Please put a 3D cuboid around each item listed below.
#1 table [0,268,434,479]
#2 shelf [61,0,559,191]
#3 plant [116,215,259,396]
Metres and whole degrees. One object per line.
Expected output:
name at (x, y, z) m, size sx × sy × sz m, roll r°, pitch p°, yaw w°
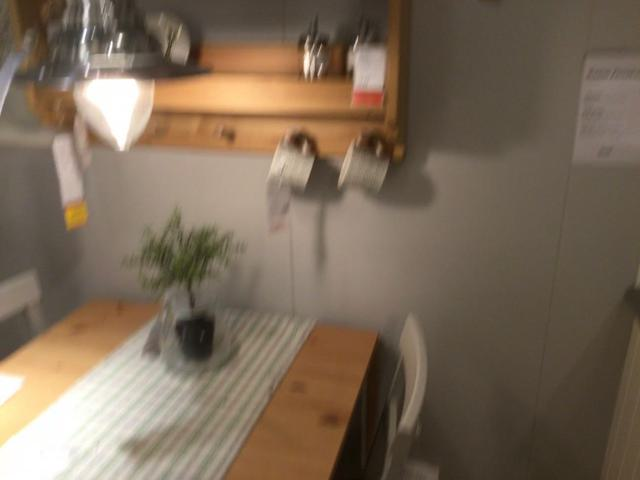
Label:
table at (-0.320, 0.620, 1.260) m, size 1.000 × 0.810 × 0.780 m, roll 4°, pitch 20°, yaw 18°
shelf at (-0.050, -0.650, 1.020) m, size 0.910 × 1.070 × 0.200 m, roll 4°, pitch 20°, yaw 18°
plant at (-0.270, 0.130, 1.230) m, size 0.200 × 0.320 × 0.180 m, roll 4°, pitch 20°, yaw 18°
